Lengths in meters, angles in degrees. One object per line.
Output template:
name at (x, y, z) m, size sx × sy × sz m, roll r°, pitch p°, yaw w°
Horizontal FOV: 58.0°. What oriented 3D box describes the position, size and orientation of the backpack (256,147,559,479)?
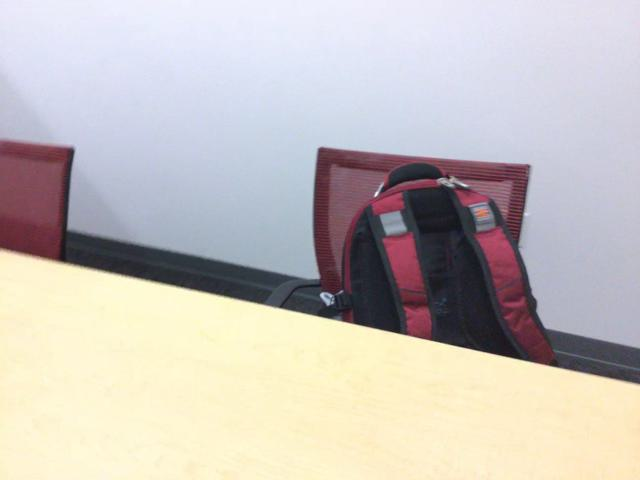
backpack at (0.170, 0.130, 1.120) m, size 0.440 × 0.470 × 0.360 m, roll 12°, pitch 31°, yaw 21°
